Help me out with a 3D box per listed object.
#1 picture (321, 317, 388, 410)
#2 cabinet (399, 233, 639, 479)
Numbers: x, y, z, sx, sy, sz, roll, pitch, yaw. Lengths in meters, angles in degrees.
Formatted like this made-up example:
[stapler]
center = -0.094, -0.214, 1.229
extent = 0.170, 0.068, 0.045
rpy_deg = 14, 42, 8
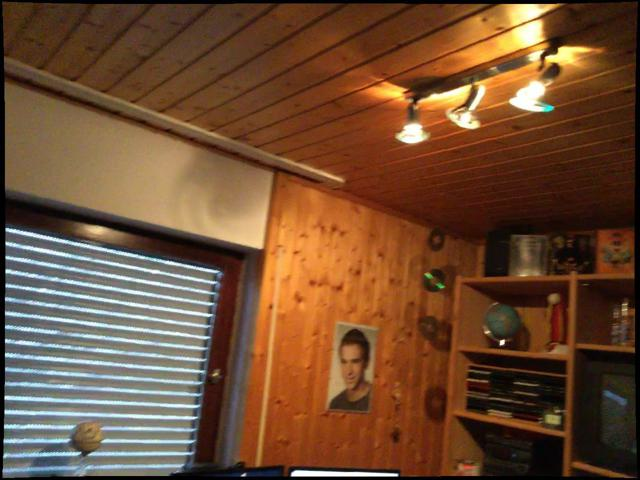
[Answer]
[picture]
center = 0.180, 0.621, 2.900
extent = 0.330, 0.430, 0.070
rpy_deg = 14, -12, -37
[cabinet]
center = 1.349, 1.131, 2.460
extent = 0.670, 2.222, 2.109
rpy_deg = 14, -12, -37
